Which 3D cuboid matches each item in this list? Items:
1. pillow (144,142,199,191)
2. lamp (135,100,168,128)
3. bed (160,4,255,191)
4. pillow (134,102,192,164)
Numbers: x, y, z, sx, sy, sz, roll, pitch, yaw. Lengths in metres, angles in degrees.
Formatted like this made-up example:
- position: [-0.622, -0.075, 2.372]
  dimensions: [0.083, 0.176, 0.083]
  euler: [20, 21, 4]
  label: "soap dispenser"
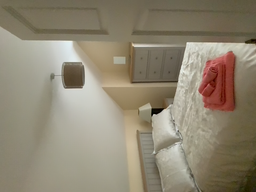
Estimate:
- position: [0.510, 0.940, 2.600]
  dimensions: [0.700, 0.390, 0.150]
  euler: [-116, 0, -52]
  label: "pillow"
- position: [0.410, 0.330, 3.850]
  dimensions: [0.360, 0.500, 0.350]
  euler: [-97, 8, -55]
  label: "lamp"
- position: [1.030, 0.200, 2.600]
  dimensions: [1.650, 0.700, 2.140]
  euler: [-97, 8, -55]
  label: "bed"
- position: [0.490, 0.520, 3.200]
  dimensions: [0.200, 0.480, 0.850]
  euler: [46, -176, -36]
  label: "pillow"
